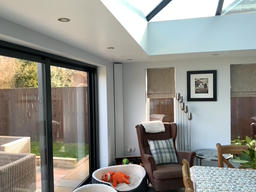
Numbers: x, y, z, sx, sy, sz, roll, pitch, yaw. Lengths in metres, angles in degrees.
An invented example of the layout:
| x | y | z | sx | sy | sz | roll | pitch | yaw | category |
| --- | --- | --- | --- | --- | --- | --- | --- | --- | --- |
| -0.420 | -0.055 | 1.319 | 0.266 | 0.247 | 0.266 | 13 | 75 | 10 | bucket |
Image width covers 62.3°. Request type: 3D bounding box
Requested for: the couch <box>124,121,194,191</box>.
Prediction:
| x | y | z | sx | sy | sz | roll | pitch | yaw | category |
| --- | --- | --- | --- | --- | --- | --- | --- | --- | --- |
| 0.450 | 1.000 | 3.520 | 0.790 | 0.970 | 1.060 | -1 | 2 | -15 | couch |
